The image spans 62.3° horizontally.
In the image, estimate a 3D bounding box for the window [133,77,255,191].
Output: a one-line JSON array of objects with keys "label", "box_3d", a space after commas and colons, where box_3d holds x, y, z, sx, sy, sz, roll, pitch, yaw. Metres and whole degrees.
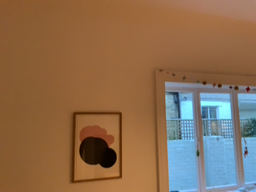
[{"label": "window", "box_3d": [1.240, 0.590, 3.090, 2.260, 1.560, 0.540, 1, -7, -14]}]
